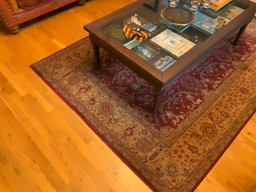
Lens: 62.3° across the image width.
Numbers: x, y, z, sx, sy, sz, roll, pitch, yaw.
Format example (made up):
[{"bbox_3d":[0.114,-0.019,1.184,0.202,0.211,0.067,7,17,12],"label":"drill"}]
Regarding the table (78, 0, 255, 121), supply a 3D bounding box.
[{"bbox_3d":[0.390,-0.550,1.940,1.370,0.460,0.830,-36,62,-27],"label":"table"}]
